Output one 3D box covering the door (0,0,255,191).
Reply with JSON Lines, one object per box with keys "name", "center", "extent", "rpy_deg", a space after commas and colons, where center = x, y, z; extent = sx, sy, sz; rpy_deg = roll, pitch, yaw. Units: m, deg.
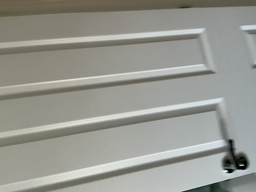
{"name": "door", "center": [0.310, -0.050, 0.860], "extent": [0.050, 1.920, 0.770], "rpy_deg": [134, 127, -72]}
